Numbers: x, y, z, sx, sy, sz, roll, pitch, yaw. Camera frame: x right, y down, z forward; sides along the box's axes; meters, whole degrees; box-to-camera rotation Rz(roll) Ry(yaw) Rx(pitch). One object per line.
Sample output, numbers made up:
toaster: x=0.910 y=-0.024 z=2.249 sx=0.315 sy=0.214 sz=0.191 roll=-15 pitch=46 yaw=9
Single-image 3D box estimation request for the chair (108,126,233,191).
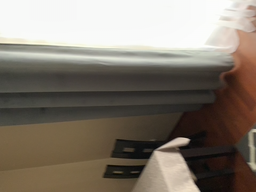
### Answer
chair: x=0.360 y=0.630 z=1.990 sx=0.480 sy=0.960 sz=0.410 roll=-110 pitch=27 yaw=-42
